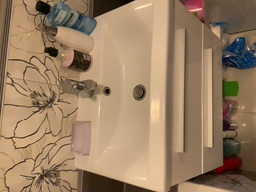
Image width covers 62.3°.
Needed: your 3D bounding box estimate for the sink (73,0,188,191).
[{"bbox_3d":[0.000,-0.020,0.800,0.400,0.160,0.610,-2,83,40],"label":"sink"}]
